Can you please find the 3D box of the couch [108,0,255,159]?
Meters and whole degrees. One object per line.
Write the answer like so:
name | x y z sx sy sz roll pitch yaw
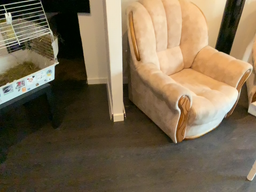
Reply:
couch | 0.450 -0.270 1.870 0.880 0.960 0.960 -17 39 -23
